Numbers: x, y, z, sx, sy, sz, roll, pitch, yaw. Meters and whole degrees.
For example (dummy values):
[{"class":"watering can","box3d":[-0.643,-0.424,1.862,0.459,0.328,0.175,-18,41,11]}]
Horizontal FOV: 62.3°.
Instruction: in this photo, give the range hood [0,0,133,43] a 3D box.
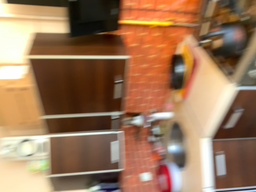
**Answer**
[{"class":"range hood","box3d":[-0.330,-0.660,1.170,0.320,0.690,0.610,-100,13,-45]}]
